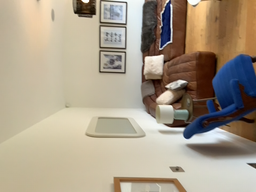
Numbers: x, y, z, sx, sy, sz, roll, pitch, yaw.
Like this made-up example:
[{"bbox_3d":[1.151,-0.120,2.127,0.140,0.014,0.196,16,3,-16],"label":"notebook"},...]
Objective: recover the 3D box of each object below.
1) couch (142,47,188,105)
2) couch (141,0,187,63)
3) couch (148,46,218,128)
[{"bbox_3d":[0.790,-0.430,4.910,1.130,0.710,0.690,98,170,-46],"label":"couch"},{"bbox_3d":[0.800,-1.720,5.020,1.160,0.740,1.730,-149,60,-82],"label":"couch"},{"bbox_3d":[0.890,-0.170,3.870,1.360,0.740,1.210,-149,61,-82],"label":"couch"}]
